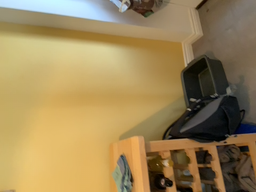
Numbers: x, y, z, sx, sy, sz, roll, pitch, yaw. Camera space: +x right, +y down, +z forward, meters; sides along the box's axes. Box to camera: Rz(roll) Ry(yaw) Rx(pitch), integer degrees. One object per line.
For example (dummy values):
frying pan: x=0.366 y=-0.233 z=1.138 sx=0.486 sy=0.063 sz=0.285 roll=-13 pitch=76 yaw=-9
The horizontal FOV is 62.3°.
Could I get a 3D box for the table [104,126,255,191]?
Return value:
table: x=0.380 y=0.680 z=1.190 sx=0.550 sy=0.850 sz=0.920 roll=144 pitch=124 yaw=-63
